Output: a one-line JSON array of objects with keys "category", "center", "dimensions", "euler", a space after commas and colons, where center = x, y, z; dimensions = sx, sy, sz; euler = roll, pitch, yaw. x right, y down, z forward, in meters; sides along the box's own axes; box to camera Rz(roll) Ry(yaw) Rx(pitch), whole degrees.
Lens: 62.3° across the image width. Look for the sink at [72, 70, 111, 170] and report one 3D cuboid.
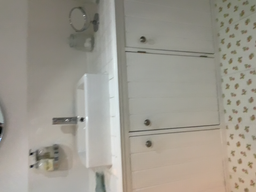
[{"category": "sink", "center": [-0.250, 0.140, 1.340], "dimensions": [0.450, 0.130, 0.520], "euler": [167, 101, -66]}]
